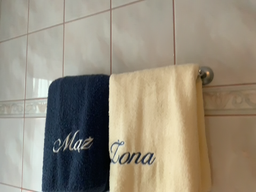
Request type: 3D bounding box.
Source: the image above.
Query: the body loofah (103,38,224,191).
[{"bbox_3d":[0.090,0.090,0.560,0.270,0.400,0.150,-4,-7,30],"label":"body loofah"}]

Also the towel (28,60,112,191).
[{"bbox_3d":[-0.190,0.110,0.710,0.240,0.410,0.130,-3,-7,28],"label":"towel"}]
